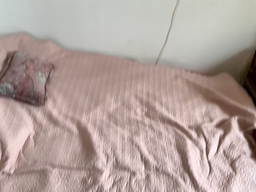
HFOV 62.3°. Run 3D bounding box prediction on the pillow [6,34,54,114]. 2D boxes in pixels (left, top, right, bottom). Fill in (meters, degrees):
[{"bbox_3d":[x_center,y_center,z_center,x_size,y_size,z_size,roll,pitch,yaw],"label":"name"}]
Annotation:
[{"bbox_3d":[-0.680,-0.160,1.520,0.110,0.270,0.520,-28,55,23],"label":"pillow"}]
